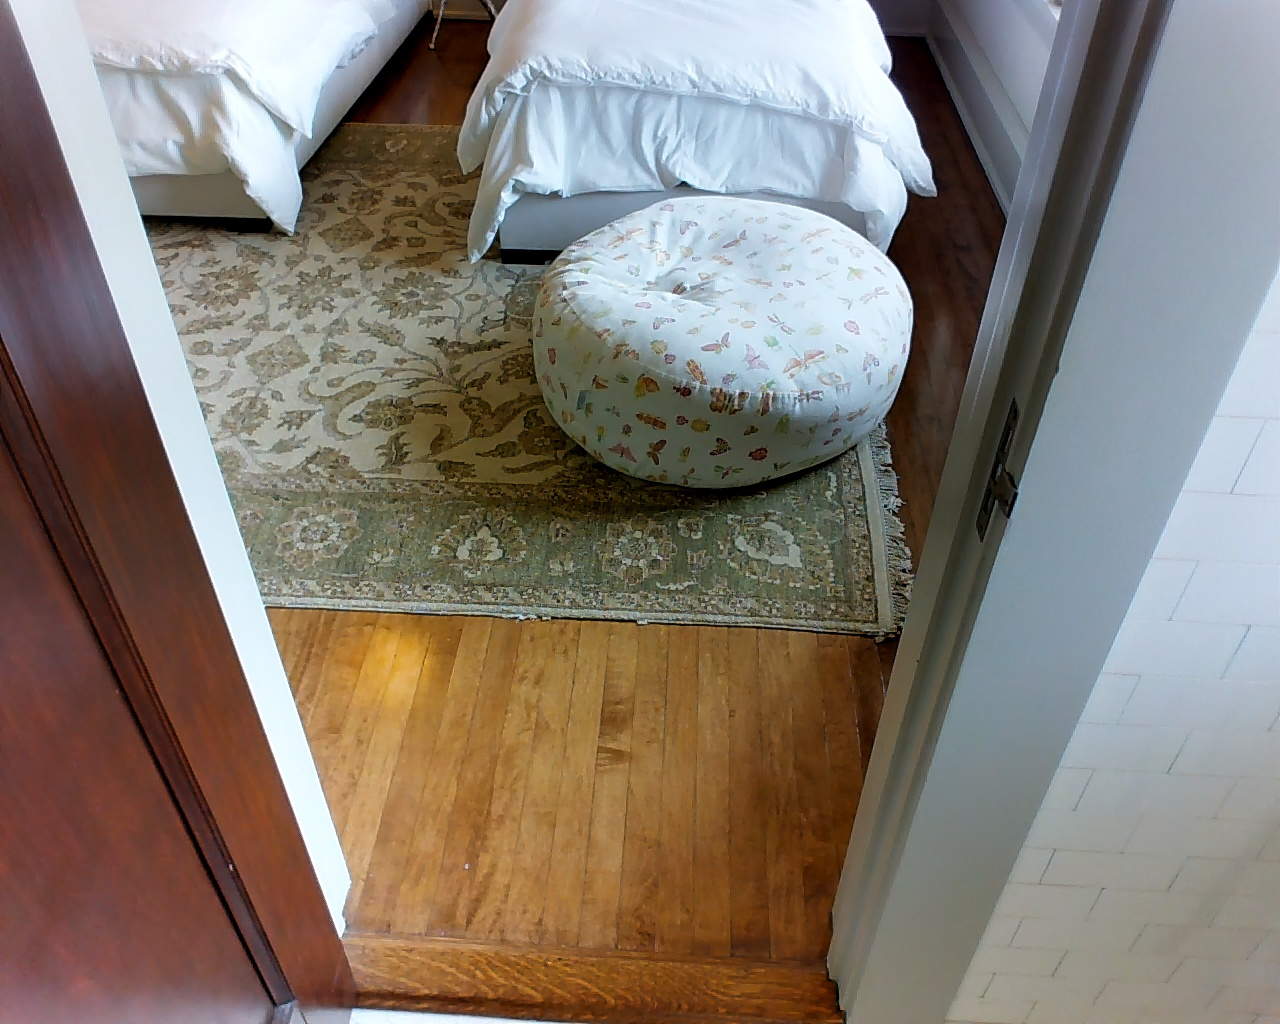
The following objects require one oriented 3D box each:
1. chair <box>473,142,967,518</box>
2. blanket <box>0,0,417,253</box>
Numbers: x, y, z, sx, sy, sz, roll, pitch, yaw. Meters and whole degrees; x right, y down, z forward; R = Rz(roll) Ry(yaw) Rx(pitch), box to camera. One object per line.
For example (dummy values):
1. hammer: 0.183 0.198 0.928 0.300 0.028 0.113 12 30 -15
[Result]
1. chair: 0.190 -0.490 2.630 0.980 0.400 0.980 3 42 3
2. blanket: -1.630 -1.440 3.470 1.500 0.640 1.180 3 42 2
